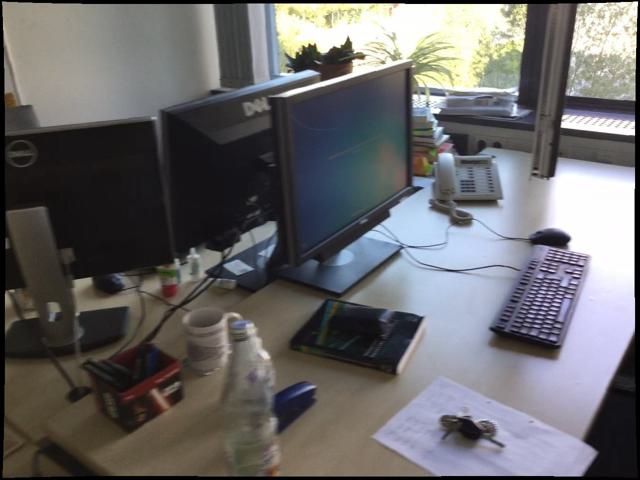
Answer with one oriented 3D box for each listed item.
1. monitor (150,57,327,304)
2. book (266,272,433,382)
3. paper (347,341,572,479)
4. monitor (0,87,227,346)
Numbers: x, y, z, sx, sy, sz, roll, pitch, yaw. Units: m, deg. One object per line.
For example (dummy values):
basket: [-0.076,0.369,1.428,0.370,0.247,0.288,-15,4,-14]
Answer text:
monitor: [-0.180,-0.190,1.600,0.100,0.510,0.560,10,30,28]
book: [0.070,0.170,1.220,0.280,0.060,0.240,7,29,24]
paper: [0.240,0.300,1.000,0.300,0.040,0.240,16,33,36]
monitor: [-0.589,-0.060,1.380,0.629,0.470,0.210,-14,28,-17]
